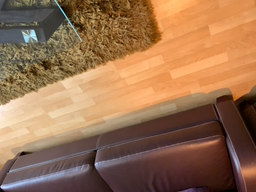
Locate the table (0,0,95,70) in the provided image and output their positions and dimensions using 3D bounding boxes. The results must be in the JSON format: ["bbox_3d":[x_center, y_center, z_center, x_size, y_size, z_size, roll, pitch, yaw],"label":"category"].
[{"bbox_3d":[-0.720,-0.370,1.030,0.980,0.320,0.430,-17,125,16],"label":"table"}]

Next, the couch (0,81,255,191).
[{"bbox_3d":[-0.080,0.710,1.520,1.820,0.830,0.780,-18,125,17],"label":"couch"}]
